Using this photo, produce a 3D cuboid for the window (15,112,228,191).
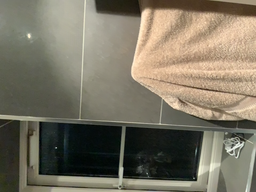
[{"bbox_3d":[-0.040,0.520,1.050,0.060,0.980,0.820,-125,40,-83],"label":"window"}]
